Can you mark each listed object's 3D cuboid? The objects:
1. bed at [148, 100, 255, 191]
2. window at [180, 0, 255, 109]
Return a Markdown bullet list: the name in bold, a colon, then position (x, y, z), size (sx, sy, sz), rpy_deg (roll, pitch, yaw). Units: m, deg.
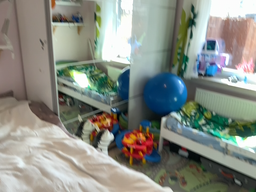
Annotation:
- **bed**: position (1.260, 0.610, 2.520), size (1.850, 0.450, 0.880), rpy_deg (19, 25, 37)
- **window**: position (1.470, -0.970, 2.490), size (1.500, 2.190, 0.220), rpy_deg (20, 26, 39)
